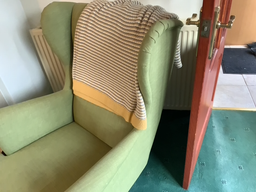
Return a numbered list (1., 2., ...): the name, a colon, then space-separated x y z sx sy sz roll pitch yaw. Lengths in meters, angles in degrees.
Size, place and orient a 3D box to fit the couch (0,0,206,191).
1. couch: -0.260 0.150 1.100 0.800 1.000 0.950 25 48 34
